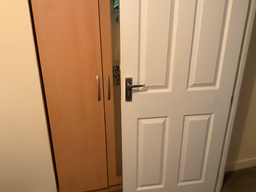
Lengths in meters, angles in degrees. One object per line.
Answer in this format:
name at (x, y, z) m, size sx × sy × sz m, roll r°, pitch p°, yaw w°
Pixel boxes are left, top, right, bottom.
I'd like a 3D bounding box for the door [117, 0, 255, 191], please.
door at (0.340, -0.070, 1.360) m, size 0.810 × 1.900 × 0.050 m, roll -4°, pitch 22°, yaw -11°
